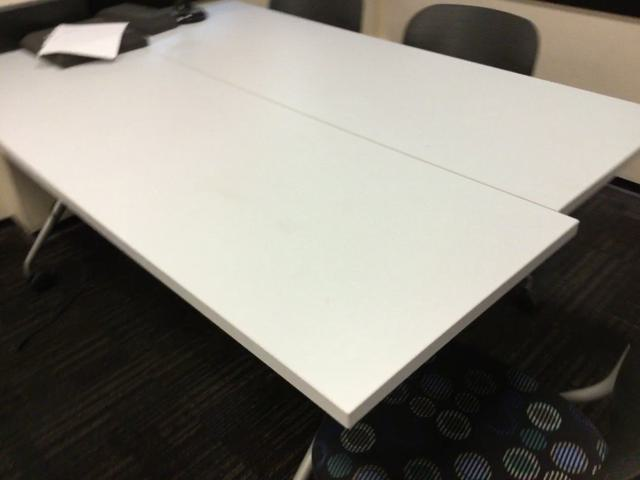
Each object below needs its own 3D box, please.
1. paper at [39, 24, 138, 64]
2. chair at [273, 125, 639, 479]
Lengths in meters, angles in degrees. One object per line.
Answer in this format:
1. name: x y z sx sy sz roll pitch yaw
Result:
1. paper: -0.740 -0.640 1.880 0.240 0.070 0.290 -2 29 -8
2. chair: 0.340 0.360 1.030 0.620 0.860 0.570 24 37 27
